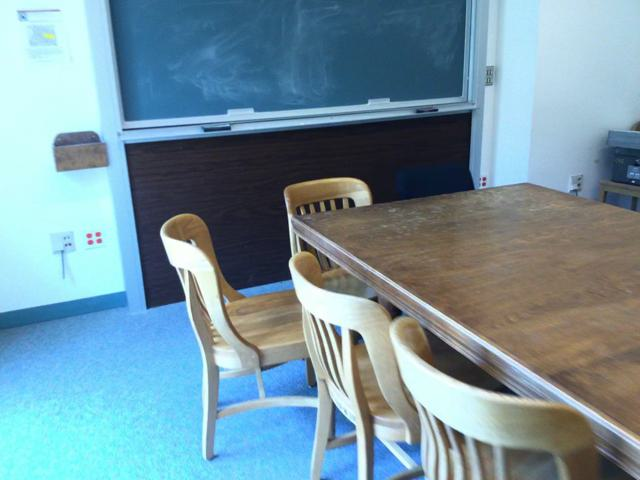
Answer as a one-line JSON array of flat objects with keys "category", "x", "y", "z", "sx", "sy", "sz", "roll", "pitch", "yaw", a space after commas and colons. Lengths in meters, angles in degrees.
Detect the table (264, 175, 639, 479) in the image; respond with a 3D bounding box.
[{"category": "table", "x": 1.080, "y": 0.620, "z": 1.020, "sx": 1.300, "sy": 0.810, "sz": 3.610, "roll": -11, "pitch": 18, "yaw": -20}]
